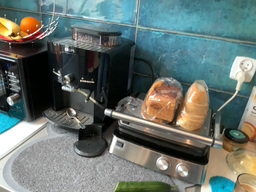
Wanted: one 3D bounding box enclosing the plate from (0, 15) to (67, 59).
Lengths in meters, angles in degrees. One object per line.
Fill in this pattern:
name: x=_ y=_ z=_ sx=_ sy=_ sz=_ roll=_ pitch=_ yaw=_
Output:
plate: x=-0.440 y=-0.270 z=0.920 sx=0.210 sy=0.110 sz=0.280 roll=15 pitch=29 yaw=18
